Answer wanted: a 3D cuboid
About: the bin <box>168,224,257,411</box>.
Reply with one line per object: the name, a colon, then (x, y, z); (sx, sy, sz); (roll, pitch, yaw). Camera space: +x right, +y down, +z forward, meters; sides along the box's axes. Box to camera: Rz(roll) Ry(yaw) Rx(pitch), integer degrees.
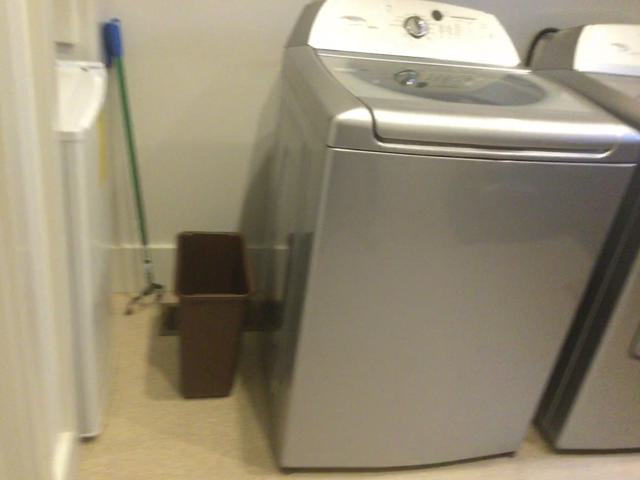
bin: (-0.330, 0.210, 1.700); (0.220, 0.380, 0.400); (0, 26, -14)
